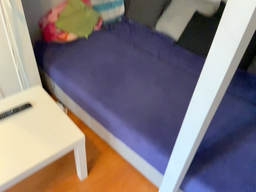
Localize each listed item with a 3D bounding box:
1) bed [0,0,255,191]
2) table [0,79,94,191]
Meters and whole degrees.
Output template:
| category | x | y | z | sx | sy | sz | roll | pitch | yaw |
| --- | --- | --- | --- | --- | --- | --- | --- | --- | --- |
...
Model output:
| category | x | y | z | sx | sy | sz | roll | pitch | yaw |
| --- | --- | --- | --- | --- | --- | --- | --- | --- | --- |
| bed | 0.330 | -0.860 | 1.300 | 2.140 | 2.430 | 1.660 | 36 | 49 | 29 |
| table | -0.640 | 0.340 | 1.310 | 0.600 | 0.480 | 0.600 | -28 | 52 | -33 |
